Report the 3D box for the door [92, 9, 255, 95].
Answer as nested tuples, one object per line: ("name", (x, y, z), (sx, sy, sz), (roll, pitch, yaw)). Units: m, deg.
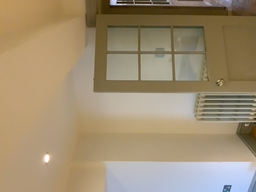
("door", (0.690, -0.440, 2.100), (0.100, 2.030, 0.850), (97, 174, -74))
